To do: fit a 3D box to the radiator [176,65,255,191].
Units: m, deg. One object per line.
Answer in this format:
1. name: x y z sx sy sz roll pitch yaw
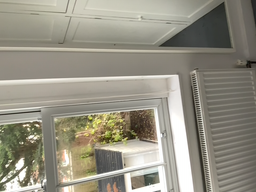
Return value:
1. radiator: 0.700 0.360 1.310 0.060 0.730 1.110 158 107 -67
